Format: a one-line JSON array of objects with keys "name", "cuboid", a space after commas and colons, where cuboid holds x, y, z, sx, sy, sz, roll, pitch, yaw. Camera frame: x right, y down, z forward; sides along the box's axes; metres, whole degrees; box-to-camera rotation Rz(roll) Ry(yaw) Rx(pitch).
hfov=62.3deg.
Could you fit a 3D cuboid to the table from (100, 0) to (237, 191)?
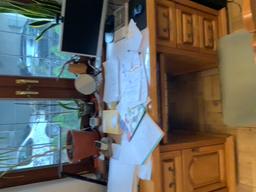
[{"name": "table", "cuboid": [0.270, 0.050, 1.750, 0.750, 0.710, 1.420, -11, 80, 58]}]
